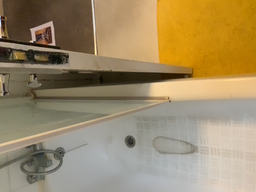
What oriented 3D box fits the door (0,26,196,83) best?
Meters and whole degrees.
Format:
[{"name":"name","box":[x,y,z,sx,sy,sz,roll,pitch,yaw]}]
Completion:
[{"name":"door","box":[-0.430,-0.080,0.530,0.740,1.900,0.070,4,97,30]}]
